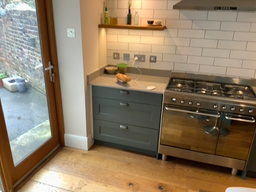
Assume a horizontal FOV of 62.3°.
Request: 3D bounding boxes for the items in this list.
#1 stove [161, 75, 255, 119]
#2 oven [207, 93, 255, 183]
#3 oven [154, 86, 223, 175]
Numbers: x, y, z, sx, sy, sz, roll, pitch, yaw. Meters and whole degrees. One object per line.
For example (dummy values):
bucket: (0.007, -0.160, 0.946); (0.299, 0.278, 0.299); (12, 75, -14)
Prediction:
stove: (0.870, -0.020, 2.280); (0.930, 0.140, 0.620); (9, 22, 15)
oven: (1.140, 0.430, 2.370); (0.340, 0.730, 0.620); (9, 22, 15)
oven: (0.690, 0.360, 2.490); (0.590, 0.730, 0.620); (9, 22, 15)
